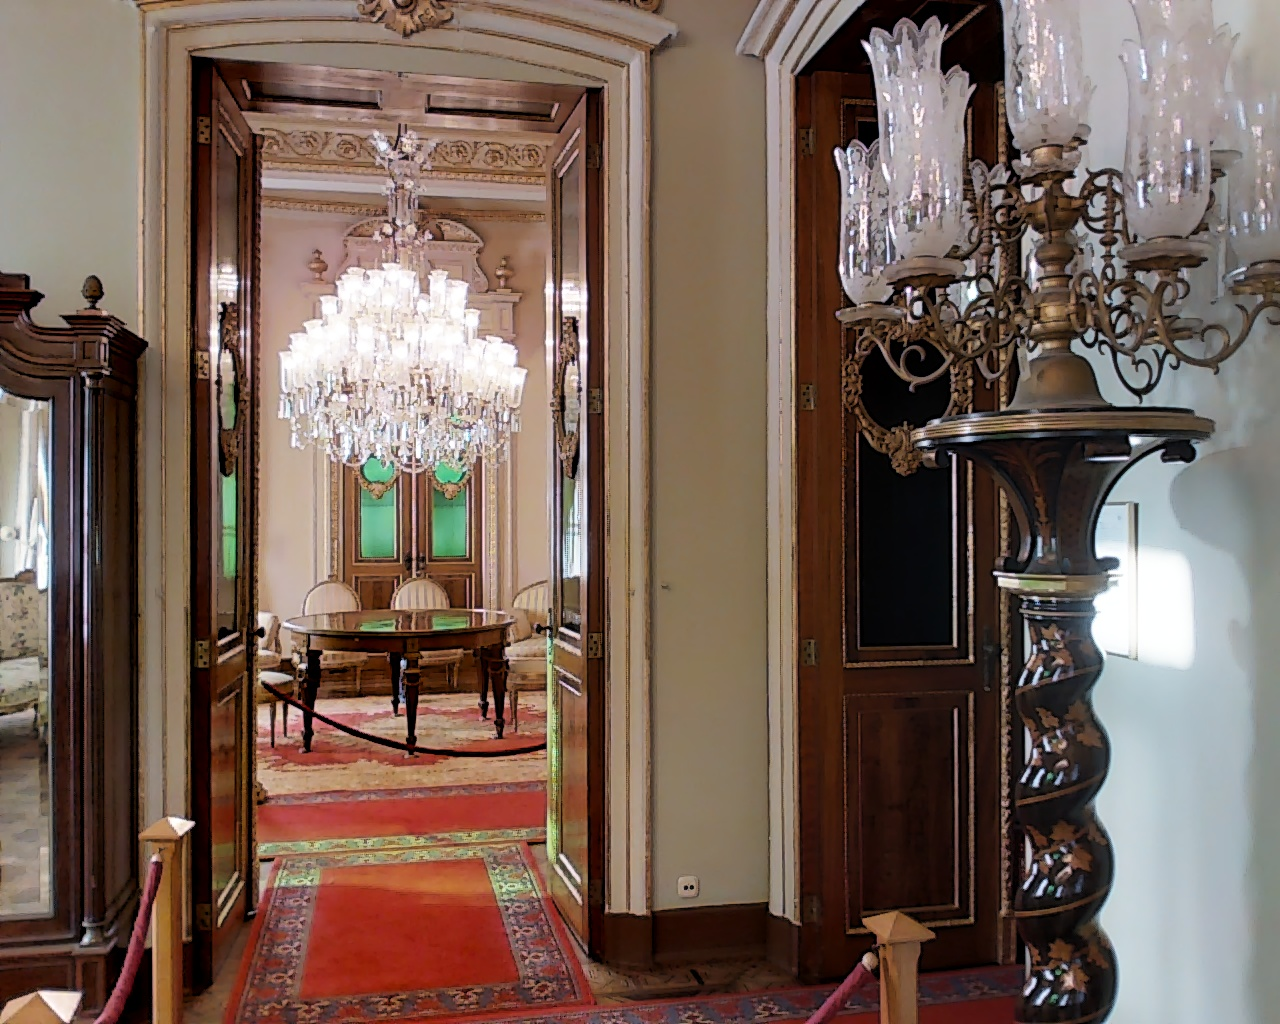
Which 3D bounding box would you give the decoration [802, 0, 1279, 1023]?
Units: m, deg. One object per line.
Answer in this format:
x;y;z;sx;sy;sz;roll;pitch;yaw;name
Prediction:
0.720;0.460;1.820;0.680;2.531;0.730;0;0;-10;decoration

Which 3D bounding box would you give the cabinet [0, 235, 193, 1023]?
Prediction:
-2.069;0.460;3.340;1.150;2.501;0.610;0;0;-10;cabinet
